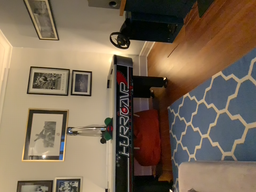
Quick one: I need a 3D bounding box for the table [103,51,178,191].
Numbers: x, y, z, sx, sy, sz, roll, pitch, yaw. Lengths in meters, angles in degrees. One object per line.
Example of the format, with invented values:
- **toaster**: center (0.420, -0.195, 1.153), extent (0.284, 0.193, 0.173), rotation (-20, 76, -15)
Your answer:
- **table**: center (0.090, 0.480, 3.200), extent (1.140, 0.810, 1.900), rotation (126, 145, -72)
